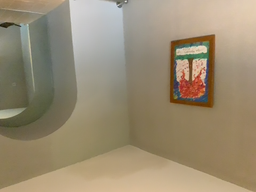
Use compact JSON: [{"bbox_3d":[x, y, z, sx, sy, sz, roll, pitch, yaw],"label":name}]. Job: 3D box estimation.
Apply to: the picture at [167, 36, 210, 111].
[{"bbox_3d":[0.490,-0.180,1.760,0.040,0.570,0.370,-10,-170,-42],"label":"picture"}]
